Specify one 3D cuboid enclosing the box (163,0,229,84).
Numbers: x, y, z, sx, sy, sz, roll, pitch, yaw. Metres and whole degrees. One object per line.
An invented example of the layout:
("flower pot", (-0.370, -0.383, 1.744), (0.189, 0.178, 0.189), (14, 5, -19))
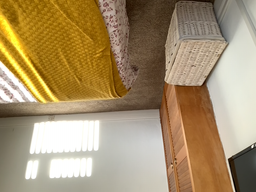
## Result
("box", (0.460, -0.410, 1.600), (0.320, 0.420, 0.500), (-5, 152, 4))
